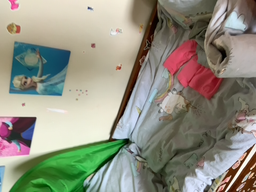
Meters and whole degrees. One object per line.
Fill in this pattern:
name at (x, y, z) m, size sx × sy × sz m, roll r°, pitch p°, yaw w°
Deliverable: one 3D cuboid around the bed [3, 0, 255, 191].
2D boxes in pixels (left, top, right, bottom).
bed at (0.040, 0.340, 1.130) m, size 0.850 × 1.100 × 1.280 m, roll 46°, pitch 124°, yaw 46°
